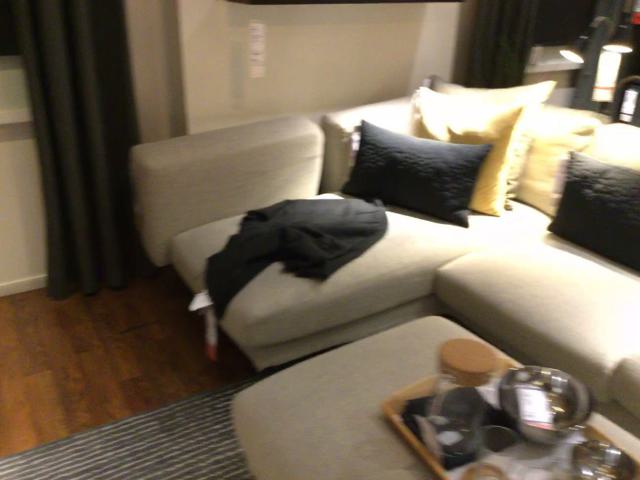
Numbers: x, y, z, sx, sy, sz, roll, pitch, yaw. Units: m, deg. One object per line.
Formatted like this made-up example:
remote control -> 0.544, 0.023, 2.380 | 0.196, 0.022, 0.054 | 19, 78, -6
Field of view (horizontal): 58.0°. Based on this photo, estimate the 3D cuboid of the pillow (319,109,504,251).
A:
pillow -> 0.350, -0.290, 2.450 | 0.430, 0.370, 0.680 | -13, 26, -26

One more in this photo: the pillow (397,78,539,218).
pillow -> 0.600, -0.410, 2.450 | 0.290, 0.460, 0.490 | -13, 26, -26

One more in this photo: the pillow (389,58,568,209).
pillow -> 0.670, -0.510, 2.590 | 0.410, 0.510, 0.630 | -13, 26, -26

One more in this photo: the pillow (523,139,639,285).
pillow -> 1.090, -0.100, 2.060 | 0.240, 0.360, 0.670 | -13, 26, -26
